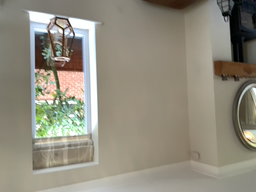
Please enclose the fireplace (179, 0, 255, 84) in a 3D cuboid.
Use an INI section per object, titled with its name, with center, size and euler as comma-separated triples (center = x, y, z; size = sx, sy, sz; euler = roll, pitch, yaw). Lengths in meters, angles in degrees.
[fireplace]
center = 1.560, -0.810, 2.820
size = 1.580, 1.210, 0.740
euler = 0, 177, -28
